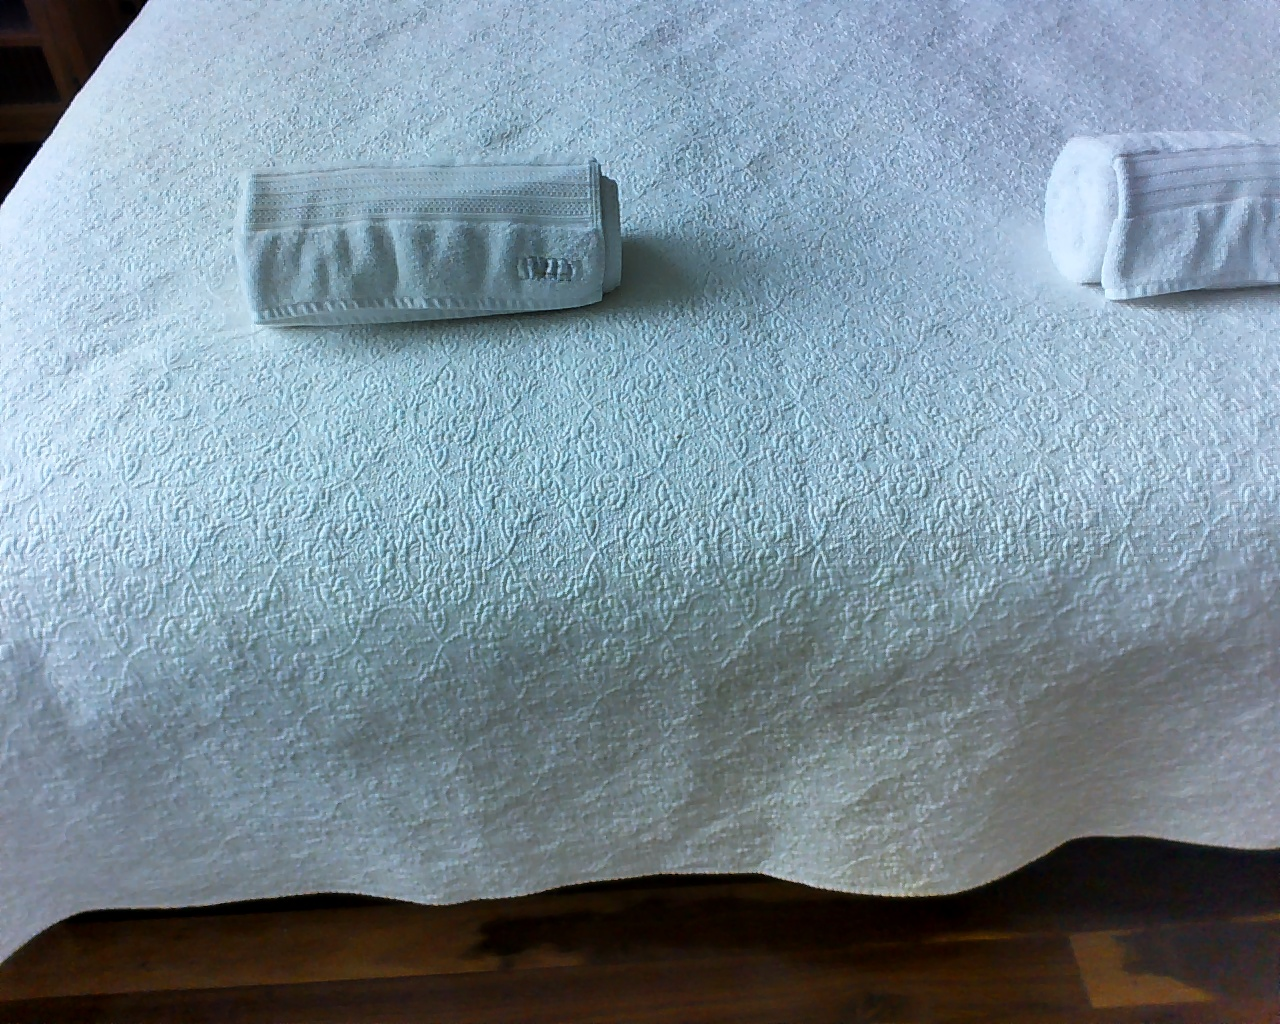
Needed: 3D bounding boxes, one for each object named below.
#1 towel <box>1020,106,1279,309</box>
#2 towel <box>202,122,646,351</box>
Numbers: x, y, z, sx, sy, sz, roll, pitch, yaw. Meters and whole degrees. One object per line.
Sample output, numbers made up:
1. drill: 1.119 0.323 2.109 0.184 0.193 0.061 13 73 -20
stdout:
1. towel: 0.590 -0.300 1.040 0.370 0.110 0.170 -4 44 -3
2. towel: -0.190 -0.260 1.000 0.370 0.110 0.160 -7 44 -6
